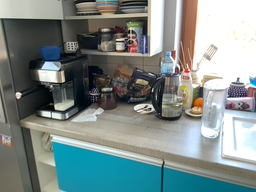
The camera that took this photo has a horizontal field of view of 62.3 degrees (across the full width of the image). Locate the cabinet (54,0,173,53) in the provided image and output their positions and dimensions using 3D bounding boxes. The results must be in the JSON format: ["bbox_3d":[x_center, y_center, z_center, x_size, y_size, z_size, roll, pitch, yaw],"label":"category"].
[{"bbox_3d":[-0.080,-0.760,1.230,0.640,0.940,0.340,7,20,21],"label":"cabinet"}]
